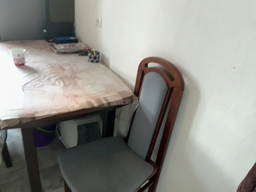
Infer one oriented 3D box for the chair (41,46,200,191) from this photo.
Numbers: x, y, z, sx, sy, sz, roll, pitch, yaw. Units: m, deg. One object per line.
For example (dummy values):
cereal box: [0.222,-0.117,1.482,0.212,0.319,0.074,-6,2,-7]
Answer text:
chair: [-0.090,0.300,1.200,0.550,1.010,0.480,-16,36,-38]
